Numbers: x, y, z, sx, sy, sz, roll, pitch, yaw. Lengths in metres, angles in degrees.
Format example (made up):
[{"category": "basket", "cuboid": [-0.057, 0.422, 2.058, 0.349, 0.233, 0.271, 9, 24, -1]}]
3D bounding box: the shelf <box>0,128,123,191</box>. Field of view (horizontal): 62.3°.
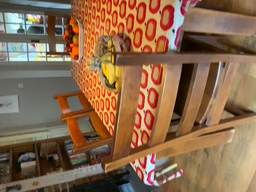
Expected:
[{"category": "shelf", "cuboid": [-1.240, 1.040, 3.360, 1.040, 2.050, 0.290, 43, 131, 54]}]
